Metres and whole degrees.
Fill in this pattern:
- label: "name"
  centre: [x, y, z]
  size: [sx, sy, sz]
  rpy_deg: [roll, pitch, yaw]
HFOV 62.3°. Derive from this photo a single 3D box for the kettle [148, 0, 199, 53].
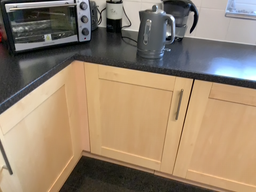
- label: "kettle"
  centre: [0.300, -0.470, 1.410]
  size: [0.270, 0.280, 0.190]
  rpy_deg: [11, 33, 12]
